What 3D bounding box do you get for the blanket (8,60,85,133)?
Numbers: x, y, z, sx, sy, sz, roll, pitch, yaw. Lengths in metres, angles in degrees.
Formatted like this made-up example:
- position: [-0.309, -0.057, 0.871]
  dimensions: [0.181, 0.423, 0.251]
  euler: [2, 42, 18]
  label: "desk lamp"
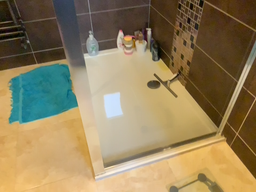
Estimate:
- position: [-0.730, -0.050, 1.840]
  dimensions: [0.550, 0.030, 0.740]
  euler: [-15, 44, -16]
  label: "blanket"
